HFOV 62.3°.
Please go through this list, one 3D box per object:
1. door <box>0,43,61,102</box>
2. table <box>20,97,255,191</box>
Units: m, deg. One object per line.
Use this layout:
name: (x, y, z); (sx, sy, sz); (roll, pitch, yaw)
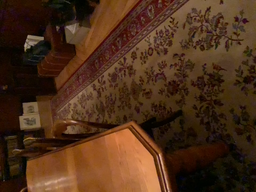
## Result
door: (-2.300, -0.400, 3.330); (0.220, 2.240, 1.040); (-45, 58, 44)
table: (-0.200, 0.950, 1.780); (2.390, 0.760, 1.210); (-27, 71, 50)
